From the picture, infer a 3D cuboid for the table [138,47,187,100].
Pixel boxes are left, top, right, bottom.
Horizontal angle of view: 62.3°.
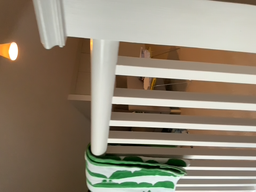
[{"bbox_3d":[0.380,-0.280,2.540,0.540,0.420,0.350,-96,12,-46],"label":"table"}]
